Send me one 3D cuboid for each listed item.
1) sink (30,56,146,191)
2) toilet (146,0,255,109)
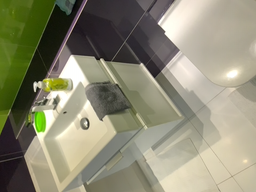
[{"bbox_3d":[-0.260,0.170,1.140,0.590,0.200,0.450,-48,62,32],"label":"sink"},{"bbox_3d":[0.500,-0.290,1.100,0.400,0.480,0.540,-48,62,32],"label":"toilet"}]
